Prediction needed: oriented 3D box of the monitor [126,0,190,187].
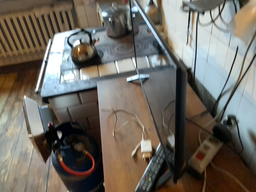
[{"bbox_3d":[0.080,-0.070,0.840,0.060,0.430,0.670,-8,38,-2],"label":"monitor"}]
